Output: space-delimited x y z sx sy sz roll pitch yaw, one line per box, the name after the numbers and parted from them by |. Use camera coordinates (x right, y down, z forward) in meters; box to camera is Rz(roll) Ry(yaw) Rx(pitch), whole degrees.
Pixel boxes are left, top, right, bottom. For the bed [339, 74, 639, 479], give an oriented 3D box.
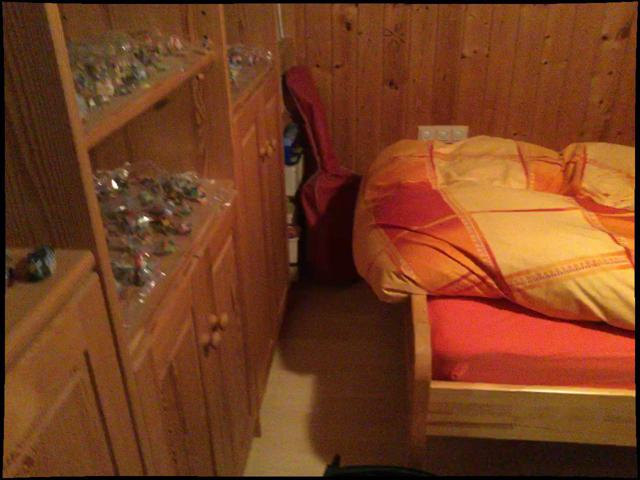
1.239 0.030 1.970 2.258 0.801 1.510 2 29 5 | bed
